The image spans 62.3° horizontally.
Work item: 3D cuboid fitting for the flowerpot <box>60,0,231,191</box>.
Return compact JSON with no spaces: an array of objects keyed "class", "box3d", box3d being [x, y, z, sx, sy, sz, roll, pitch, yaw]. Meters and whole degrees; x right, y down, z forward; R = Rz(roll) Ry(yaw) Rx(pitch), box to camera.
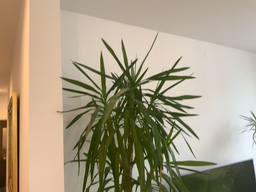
[{"class":"flowerpot","box3d":[0.060,0.400,1.600,0.880,1.950,0.890,1,-10,-31]}]
